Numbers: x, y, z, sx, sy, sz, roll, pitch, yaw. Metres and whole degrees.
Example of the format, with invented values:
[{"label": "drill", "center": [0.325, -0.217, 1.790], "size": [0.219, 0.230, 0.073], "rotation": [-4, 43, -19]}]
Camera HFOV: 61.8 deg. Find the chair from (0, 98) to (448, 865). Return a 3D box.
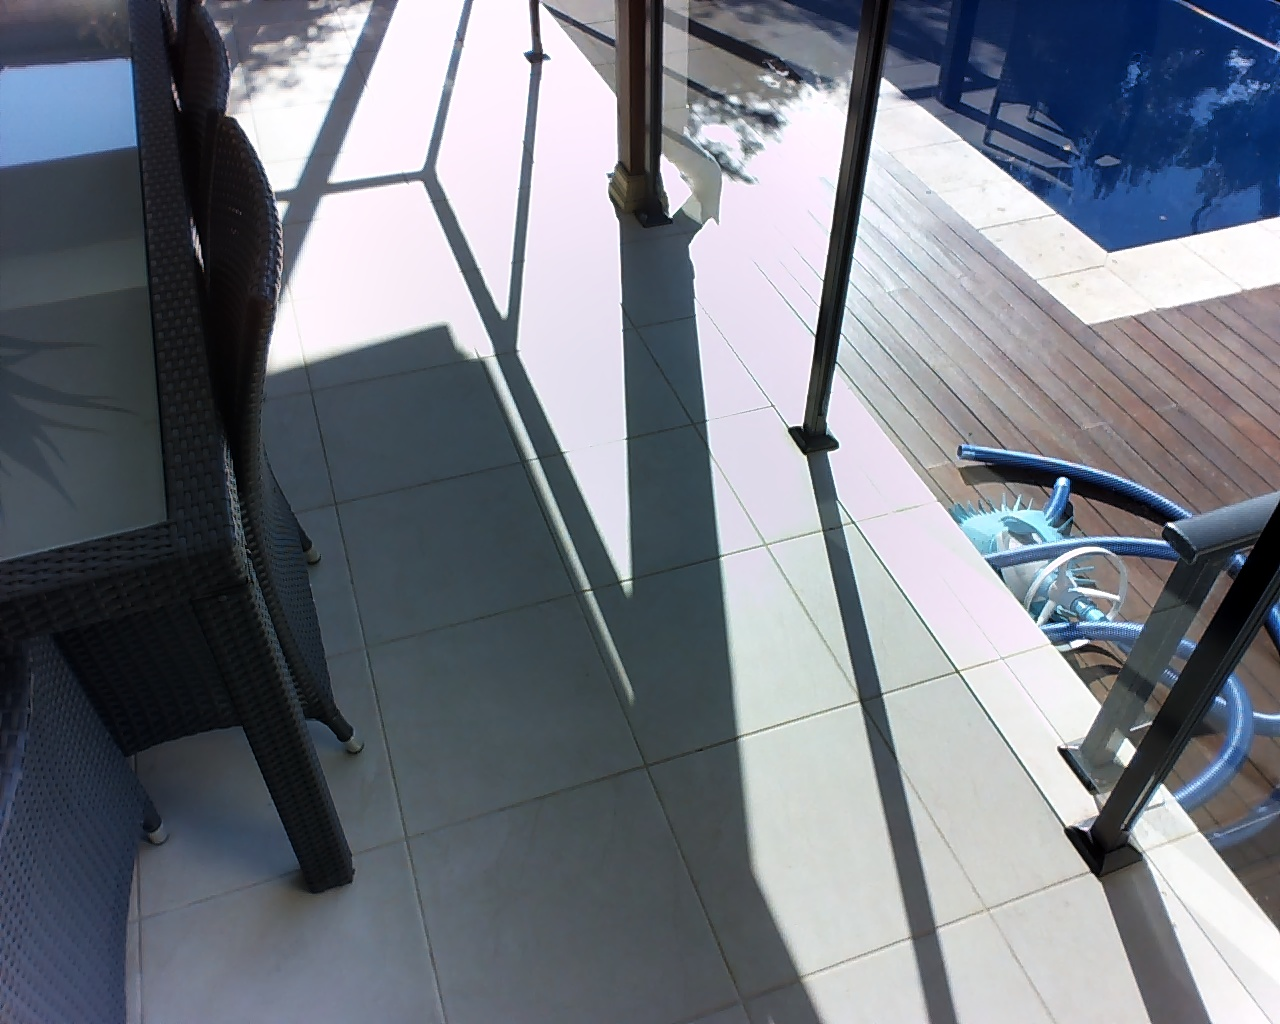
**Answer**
[{"label": "chair", "center": [-0.660, -0.030, 1.610], "size": [0.510, 0.890, 0.600], "rotation": [-14, 46, -14]}]
